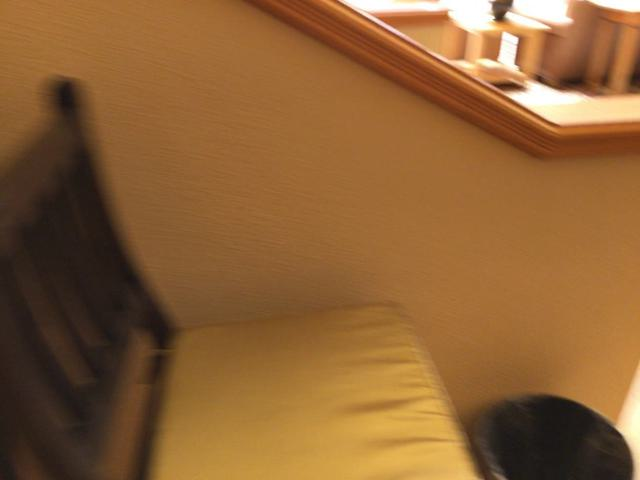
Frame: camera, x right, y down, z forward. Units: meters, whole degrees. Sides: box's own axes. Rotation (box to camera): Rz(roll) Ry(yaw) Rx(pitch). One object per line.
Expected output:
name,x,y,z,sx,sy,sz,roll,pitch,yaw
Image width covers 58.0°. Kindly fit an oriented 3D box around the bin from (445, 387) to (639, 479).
bin,0.500,0.600,1.300,0.340,0.360,0.310,-7,27,-6
